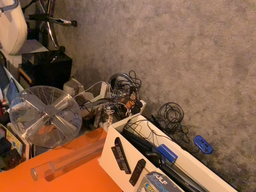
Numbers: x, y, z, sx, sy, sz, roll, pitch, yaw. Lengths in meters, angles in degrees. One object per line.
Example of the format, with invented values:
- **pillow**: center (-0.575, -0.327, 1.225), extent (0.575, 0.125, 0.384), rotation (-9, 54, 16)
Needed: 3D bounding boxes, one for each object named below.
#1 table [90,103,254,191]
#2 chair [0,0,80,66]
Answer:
- **table**: center (0.300, 0.630, 1.450), extent (1.170, 0.430, 0.490), rotation (39, 129, 29)
- **chair**: center (-1.240, -0.770, 1.960), extent (0.730, 1.160, 0.750), rotation (-27, 86, 48)
